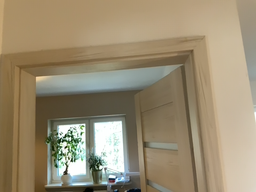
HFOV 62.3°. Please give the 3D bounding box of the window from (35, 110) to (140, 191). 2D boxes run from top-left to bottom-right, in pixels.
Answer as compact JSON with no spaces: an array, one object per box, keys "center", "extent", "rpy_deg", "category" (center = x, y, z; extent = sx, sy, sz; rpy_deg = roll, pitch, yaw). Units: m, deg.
[{"center":[-0.730,0.950,3.790],"extent":[1.800,1.290,0.120],"rpy_deg":[-4,-10,2],"category":"window"}]
